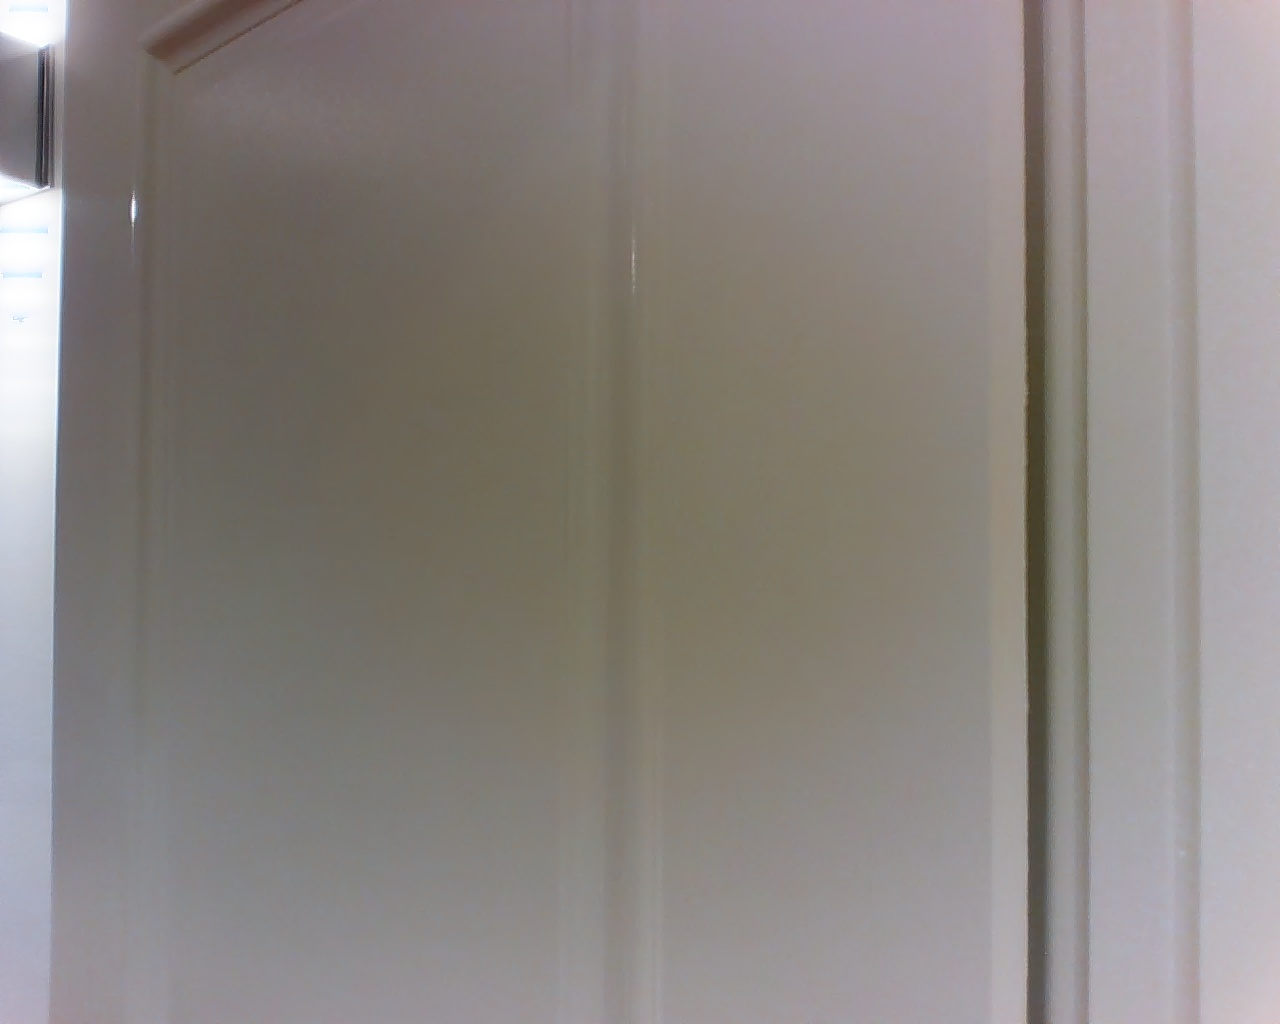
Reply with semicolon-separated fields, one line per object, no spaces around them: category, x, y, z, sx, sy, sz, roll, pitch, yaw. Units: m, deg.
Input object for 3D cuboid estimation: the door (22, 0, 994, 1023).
door;-0.200;0.500;0.660;0.840;2.120;0.060;0;-1;42
